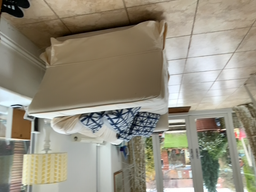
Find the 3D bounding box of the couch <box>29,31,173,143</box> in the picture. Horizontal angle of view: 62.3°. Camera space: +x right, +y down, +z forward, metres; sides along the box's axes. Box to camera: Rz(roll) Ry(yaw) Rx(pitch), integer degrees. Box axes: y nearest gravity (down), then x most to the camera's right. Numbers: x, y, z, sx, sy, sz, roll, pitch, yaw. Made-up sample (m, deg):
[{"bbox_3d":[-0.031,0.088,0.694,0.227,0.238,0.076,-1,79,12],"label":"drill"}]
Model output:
[{"bbox_3d":[-0.060,0.130,2.490,1.070,0.750,1.840,-6,166,11],"label":"couch"}]
